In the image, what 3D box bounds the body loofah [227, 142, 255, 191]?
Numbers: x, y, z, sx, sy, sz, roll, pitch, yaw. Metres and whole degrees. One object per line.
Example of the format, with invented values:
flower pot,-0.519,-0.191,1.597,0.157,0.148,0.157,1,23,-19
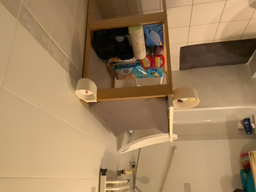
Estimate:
body loofah,1.470,0.950,2.430,0.400,0.760,0.510,-5,158,12
